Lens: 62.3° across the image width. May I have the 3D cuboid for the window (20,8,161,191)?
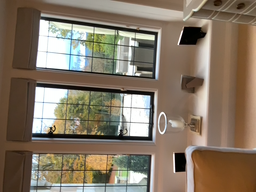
[{"bbox_3d":[-0.390,0.210,2.480,0.090,1.480,2.250,174,99,-78],"label":"window"}]
